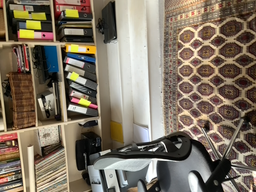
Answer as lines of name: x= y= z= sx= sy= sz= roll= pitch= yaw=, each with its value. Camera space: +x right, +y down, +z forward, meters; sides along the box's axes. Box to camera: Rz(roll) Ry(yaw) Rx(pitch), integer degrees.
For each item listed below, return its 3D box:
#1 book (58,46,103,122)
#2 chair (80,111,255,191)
book: x=-0.540 y=-0.140 z=2.370 sx=0.480 sy=0.300 sz=0.750 roll=9 pitch=103 yaw=59
chair: x=0.350 y=0.550 z=1.370 sx=0.690 sy=1.050 sz=0.660 roll=-29 pitch=71 yaw=58
